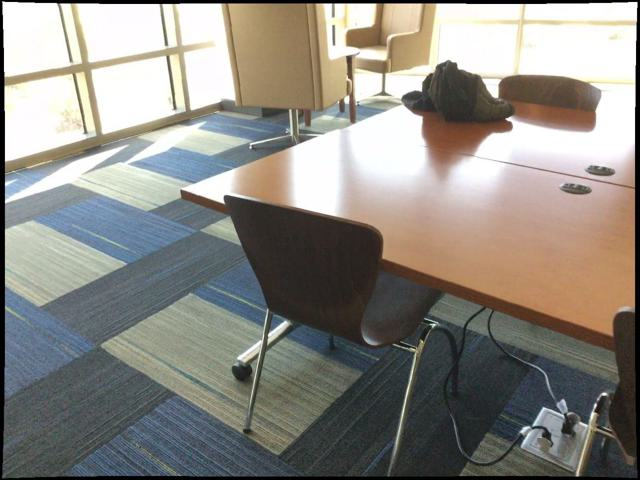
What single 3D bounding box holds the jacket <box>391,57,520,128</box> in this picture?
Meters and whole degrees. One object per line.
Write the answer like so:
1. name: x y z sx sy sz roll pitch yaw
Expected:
1. jacket: 0.549 -0.612 2.340 0.399 0.190 0.330 17 30 32
